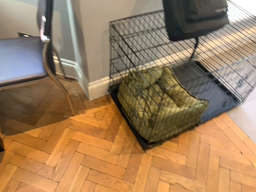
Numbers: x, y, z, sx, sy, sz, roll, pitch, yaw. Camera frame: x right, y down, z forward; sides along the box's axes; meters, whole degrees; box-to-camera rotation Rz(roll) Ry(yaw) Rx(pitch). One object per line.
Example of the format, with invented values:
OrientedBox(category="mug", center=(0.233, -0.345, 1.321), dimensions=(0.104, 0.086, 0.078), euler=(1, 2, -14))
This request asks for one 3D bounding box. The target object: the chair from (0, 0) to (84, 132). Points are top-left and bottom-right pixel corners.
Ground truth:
OrientedBox(category="chair", center=(-0.630, -0.280, 1.240), dimensions=(0.580, 0.410, 1.000), euler=(-11, 143, -14))

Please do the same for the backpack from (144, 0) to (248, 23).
OrientedBox(category="backpack", center=(0.330, -0.560, 1.120), dimensions=(0.300, 0.450, 0.230), euler=(-21, 109, -22))
